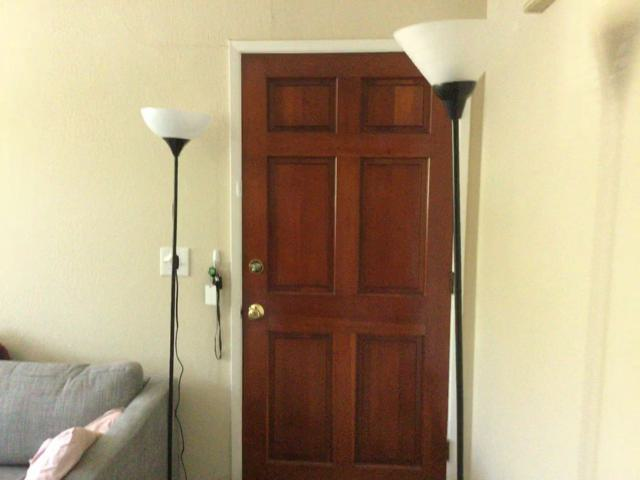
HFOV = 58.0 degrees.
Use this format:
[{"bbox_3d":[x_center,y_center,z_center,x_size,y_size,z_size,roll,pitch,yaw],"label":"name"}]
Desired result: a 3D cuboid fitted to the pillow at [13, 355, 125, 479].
[{"bbox_3d":[-0.800,0.730,1.920,0.180,0.400,0.620,11,-43,-8],"label":"pillow"}]
